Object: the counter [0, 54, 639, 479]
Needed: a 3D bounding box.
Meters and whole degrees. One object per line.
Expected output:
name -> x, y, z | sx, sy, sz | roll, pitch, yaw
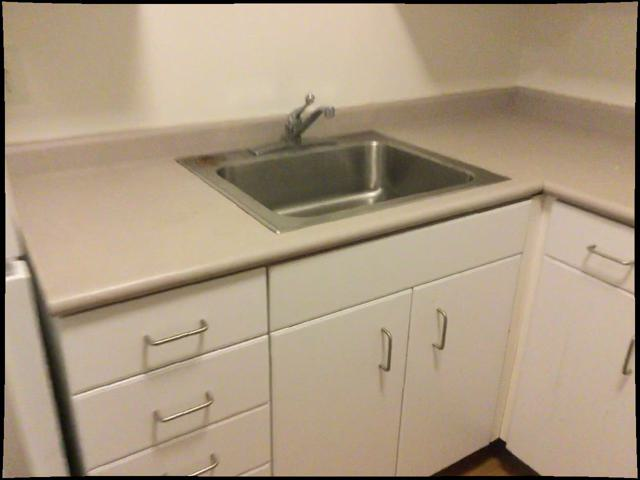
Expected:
counter -> 0.539, 0.000, 0.880 | 1.739, 0.210, 2.130 | -15, 28, -28
